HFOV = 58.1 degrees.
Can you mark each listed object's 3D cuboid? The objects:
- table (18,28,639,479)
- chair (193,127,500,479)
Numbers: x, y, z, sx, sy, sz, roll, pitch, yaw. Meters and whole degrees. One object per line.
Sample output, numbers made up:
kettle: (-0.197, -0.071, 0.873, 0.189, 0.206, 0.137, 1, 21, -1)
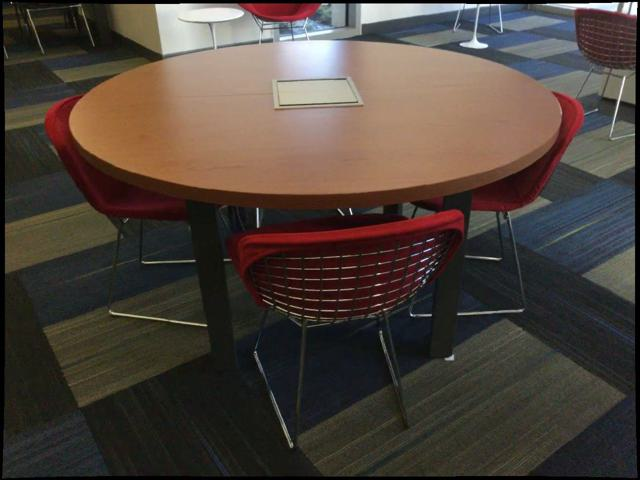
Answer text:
table: (-0.060, -0.160, 2.110, 1.488, 0.792, 1.549, -18, 35, -29)
chair: (0.010, 0.150, 1.620, 0.638, 0.721, 0.630, -4, 31, -9)
